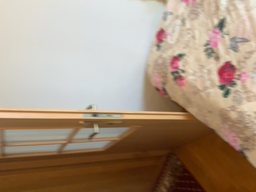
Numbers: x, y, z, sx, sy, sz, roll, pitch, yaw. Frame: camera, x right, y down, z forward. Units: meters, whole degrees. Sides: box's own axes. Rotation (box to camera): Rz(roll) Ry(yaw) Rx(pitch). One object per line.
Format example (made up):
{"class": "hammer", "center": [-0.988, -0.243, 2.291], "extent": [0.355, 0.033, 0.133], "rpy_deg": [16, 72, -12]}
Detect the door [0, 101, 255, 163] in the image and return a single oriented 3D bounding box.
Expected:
{"class": "door", "center": [-0.200, 0.260, 1.380], "extent": [0.880, 2.140, 0.110], "rpy_deg": [-39, 54, 53]}
